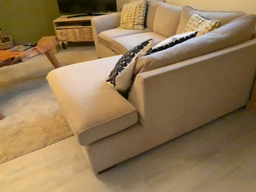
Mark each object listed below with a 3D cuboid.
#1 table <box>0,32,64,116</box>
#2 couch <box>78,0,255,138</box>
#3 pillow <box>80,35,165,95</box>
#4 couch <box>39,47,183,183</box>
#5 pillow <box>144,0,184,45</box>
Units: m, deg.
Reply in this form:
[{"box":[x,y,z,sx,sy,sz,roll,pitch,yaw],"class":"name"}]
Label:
[{"box":[-1.490,-0.290,2.410,0.820,0.480,1.240,9,35,20],"class":"table"},{"box":[0.290,-0.650,2.480,1.000,0.810,2.190,-19,35,-22],"class":"couch"},{"box":[-0.030,-0.260,1.590,0.460,0.220,0.410,21,40,33],"class":"pillow"},{"box":[-0.200,0.030,1.790,0.780,0.470,1.010,-19,35,-22],"class":"couch"},{"box":[0.410,-0.900,2.530,0.170,0.330,0.480,-18,53,-22],"class":"pillow"}]
